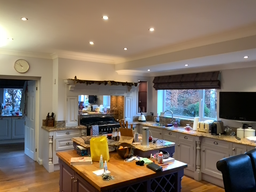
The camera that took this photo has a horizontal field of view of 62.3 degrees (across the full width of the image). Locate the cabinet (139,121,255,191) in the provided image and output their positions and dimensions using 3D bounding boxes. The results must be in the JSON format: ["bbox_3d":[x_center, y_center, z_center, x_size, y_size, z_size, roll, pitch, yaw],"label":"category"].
[{"bbox_3d":[1.350,1.170,4.550,0.560,0.910,2.840,1,0,-35],"label":"cabinet"}]

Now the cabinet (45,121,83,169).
[{"bbox_3d":[-1.460,1.070,4.830,0.640,0.900,0.620,1,1,-34],"label":"cabinet"}]
